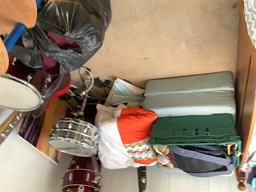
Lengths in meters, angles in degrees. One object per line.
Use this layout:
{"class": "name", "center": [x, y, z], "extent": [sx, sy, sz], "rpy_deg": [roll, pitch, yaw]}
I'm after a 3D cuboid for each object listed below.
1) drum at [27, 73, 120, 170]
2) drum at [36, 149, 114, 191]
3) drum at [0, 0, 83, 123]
{"class": "drum", "center": [-0.400, 0.220, 1.820], "extent": [0.420, 0.620, 0.520], "rpy_deg": [-2, 143, 18]}
{"class": "drum", "center": [-0.480, 0.800, 2.040], "extent": [0.460, 0.410, 0.470], "rpy_deg": [-6, 141, 23]}
{"class": "drum", "center": [-0.680, -0.200, 1.330], "extent": [0.500, 0.610, 0.420], "rpy_deg": [-3, 143, 18]}
